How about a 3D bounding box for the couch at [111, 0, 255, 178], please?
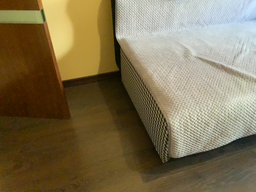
[{"bbox_3d":[1.010,-0.370,1.420,2.050,0.740,0.980,-11,40,-13],"label":"couch"}]
